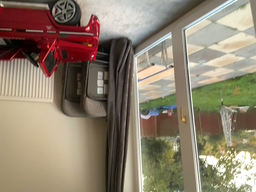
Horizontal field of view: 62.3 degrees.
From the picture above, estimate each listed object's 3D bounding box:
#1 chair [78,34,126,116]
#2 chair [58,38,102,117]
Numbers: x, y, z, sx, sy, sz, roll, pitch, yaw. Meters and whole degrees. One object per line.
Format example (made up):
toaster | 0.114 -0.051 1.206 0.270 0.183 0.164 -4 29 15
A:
chair | -0.320 -0.230 2.610 0.530 0.930 0.200 5 167 -32
chair | -0.590 -0.210 2.670 0.490 0.930 0.180 5 167 -32
